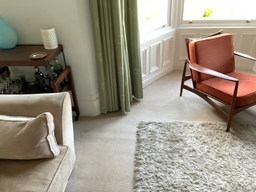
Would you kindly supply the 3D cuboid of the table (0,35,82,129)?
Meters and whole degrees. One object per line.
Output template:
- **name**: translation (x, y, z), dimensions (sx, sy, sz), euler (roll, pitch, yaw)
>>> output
- **table**: translation (-0.940, -0.140, 2.180), dimensions (0.700, 0.860, 0.410), euler (2, 34, 6)
